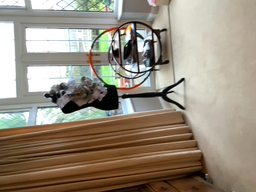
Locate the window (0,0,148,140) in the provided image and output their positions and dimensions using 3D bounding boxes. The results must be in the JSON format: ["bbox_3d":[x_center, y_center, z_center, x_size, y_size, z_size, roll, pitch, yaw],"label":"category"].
[{"bbox_3d":[-0.980,-0.740,2.710,0.870,2.060,2.410,148,117,-75],"label":"window"}]

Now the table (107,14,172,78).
[{"bbox_3d":[0.140,-0.690,3.060,0.480,0.770,0.760,158,108,-76],"label":"table"}]
